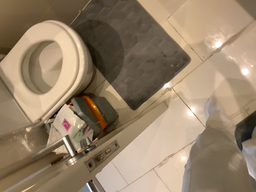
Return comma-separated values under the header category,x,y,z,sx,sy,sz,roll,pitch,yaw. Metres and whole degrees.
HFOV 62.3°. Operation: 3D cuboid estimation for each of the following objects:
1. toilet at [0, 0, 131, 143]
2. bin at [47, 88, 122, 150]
category,x,y,z,sx,sy,sz,roll,pitch,yaw
toilet,-0.420,-0.120,0.970,0.490,0.810,0.390,-39,82,20
bin,-0.210,0.100,1.130,0.140,0.350,0.220,-35,84,21
